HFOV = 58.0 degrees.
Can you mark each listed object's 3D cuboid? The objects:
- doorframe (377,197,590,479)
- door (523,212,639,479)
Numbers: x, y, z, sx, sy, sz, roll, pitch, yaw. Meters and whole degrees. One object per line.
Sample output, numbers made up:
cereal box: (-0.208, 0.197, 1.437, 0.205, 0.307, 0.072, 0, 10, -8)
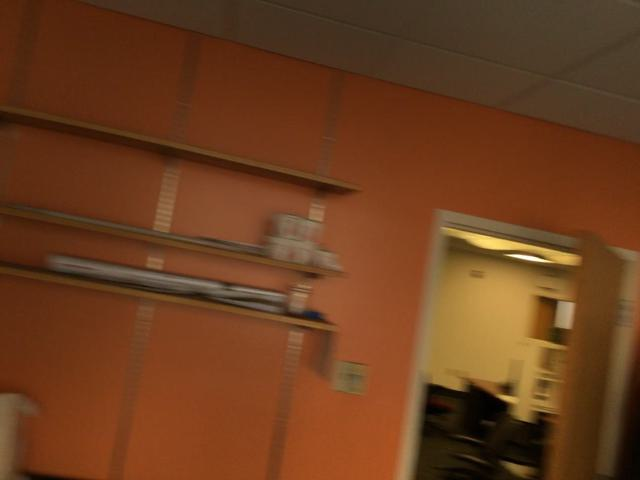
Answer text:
doorframe: (0.630, 0.930, 2.490, 0.670, 2.120, 0.230, 11, -4, -9)
door: (0.940, 0.990, 2.180, 0.120, 2.060, 0.830, 8, -5, 38)
